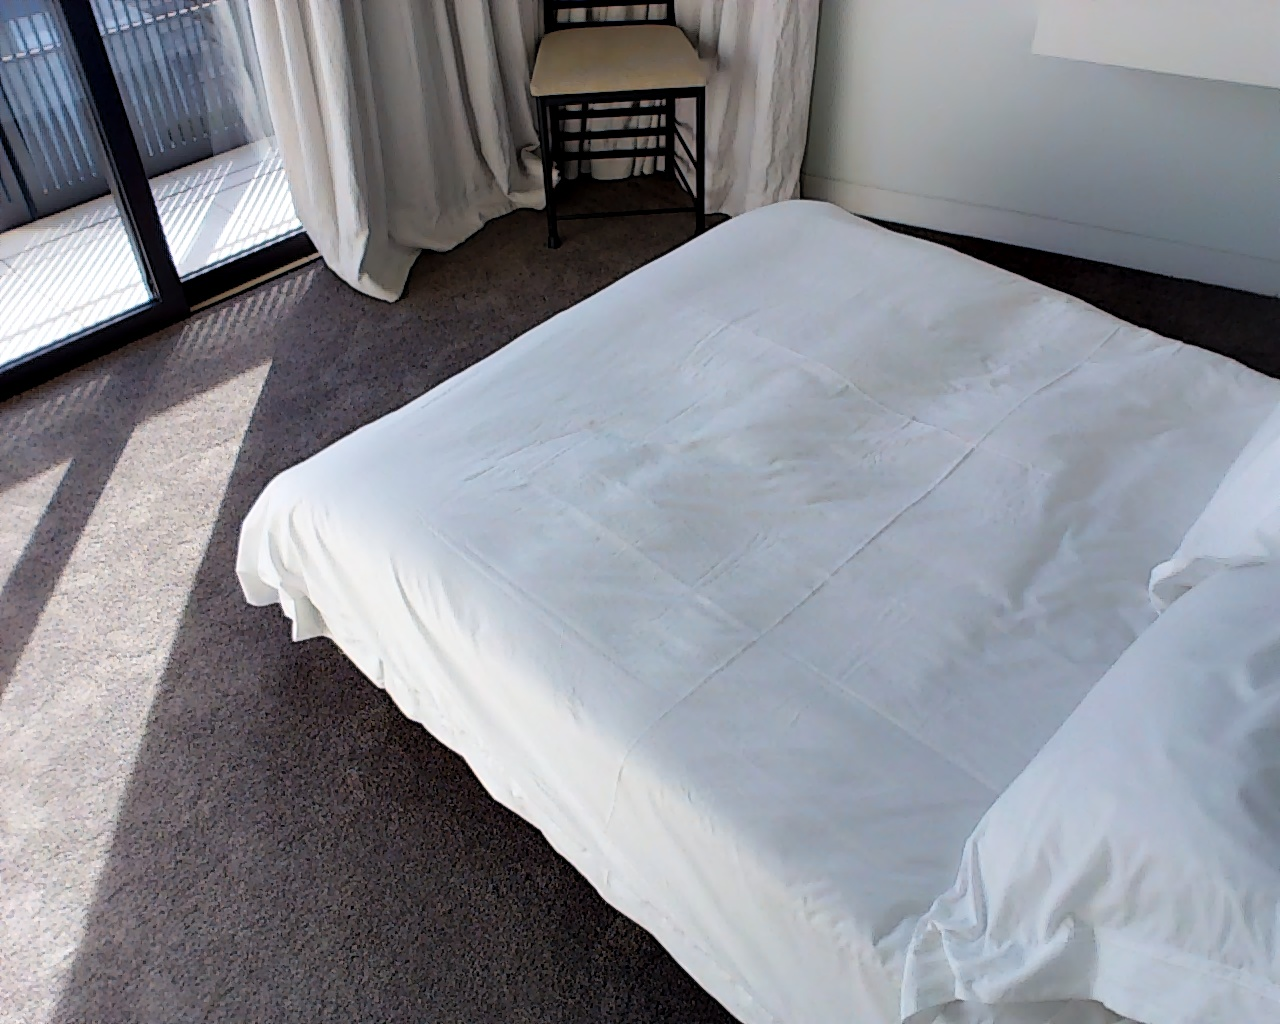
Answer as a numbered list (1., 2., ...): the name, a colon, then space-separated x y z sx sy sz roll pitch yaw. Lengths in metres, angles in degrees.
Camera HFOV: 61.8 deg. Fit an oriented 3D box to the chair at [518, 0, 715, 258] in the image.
1. chair: -0.070 -1.550 2.800 0.490 1.630 0.580 -2 42 -1
